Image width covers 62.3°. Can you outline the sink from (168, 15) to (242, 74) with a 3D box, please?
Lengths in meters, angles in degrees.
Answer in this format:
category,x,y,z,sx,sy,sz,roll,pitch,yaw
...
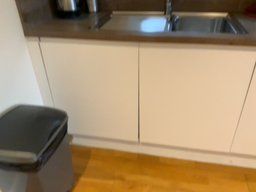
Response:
category,x,y,z,sx,sy,sz,roll,pitch,yaw
sink,0.460,-0.360,1.380,0.360,0.220,0.490,5,32,11

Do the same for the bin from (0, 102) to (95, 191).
category,x,y,z,sx,sy,sz,roll,pitch,yaw
bin,-0.410,0.370,1.180,0.300,0.550,0.340,5,32,11
